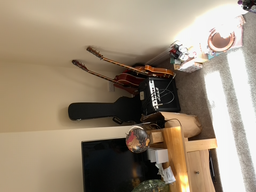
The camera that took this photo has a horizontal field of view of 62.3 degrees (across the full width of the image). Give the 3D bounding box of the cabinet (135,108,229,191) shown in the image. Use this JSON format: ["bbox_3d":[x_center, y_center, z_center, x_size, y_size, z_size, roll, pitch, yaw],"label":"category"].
[{"bbox_3d":[0.480,0.830,1.910,0.680,0.400,1.350,-22,70,57],"label":"cabinet"}]

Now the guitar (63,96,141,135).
[{"bbox_3d":[-0.280,0.210,2.410,0.290,0.800,0.360,-19,76,57],"label":"guitar"}]
